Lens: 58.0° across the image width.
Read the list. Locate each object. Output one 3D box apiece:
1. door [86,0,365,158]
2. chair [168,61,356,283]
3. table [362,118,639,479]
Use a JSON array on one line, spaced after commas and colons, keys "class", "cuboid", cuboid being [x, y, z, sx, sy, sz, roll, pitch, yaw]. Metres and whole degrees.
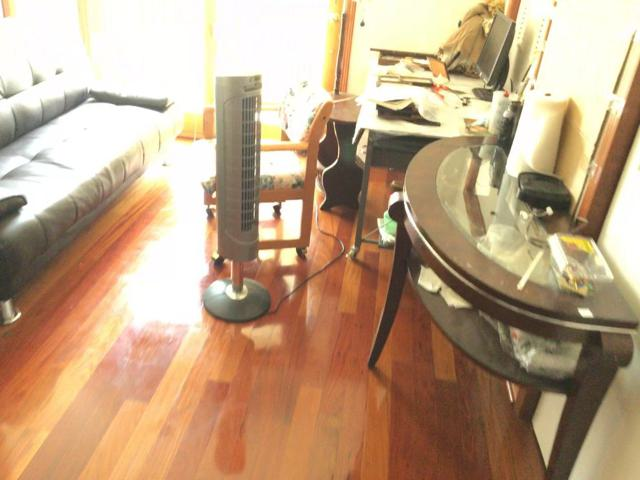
[{"class": "door", "cuboid": [-0.600, -1.530, 3.660, 1.750, 1.900, 0.220, 6, 29, 5]}, {"class": "chair", "cuboid": [-0.320, -0.370, 2.780, 0.700, 0.830, 0.760, -4, 26, -17]}, {"class": "table", "cuboid": [0.520, 0.180, 1.980, 0.630, 0.880, 1.260, 6, 25, 5]}]
